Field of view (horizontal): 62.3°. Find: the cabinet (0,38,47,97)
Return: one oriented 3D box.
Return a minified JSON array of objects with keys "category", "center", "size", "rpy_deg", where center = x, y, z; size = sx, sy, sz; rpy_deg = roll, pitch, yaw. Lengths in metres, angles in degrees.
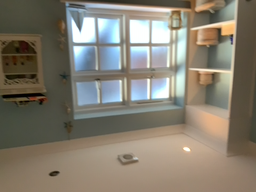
[{"category":"cabinet","center":[-0.980,-0.270,1.960],"size":[0.400,0.500,0.160],"rpy_deg":[-5,-168,-20]}]

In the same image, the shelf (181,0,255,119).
[{"category":"shelf","center":[0.960,-0.890,2.340],"size":[0.300,2.150,0.700],"rpy_deg":[-5,-168,-21]}]
